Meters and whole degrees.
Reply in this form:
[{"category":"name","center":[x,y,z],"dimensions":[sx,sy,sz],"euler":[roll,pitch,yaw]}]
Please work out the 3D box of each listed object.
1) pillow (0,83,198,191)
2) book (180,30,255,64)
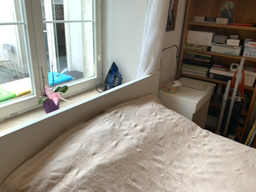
[{"category":"pillow","center":[0.000,0.300,1.470],"dimensions":[0.490,0.320,1.480],"euler":[17,26,29]},{"category":"book","center":[1.110,-0.610,2.560],"dimensions":[0.910,0.260,0.200],"euler":[18,27,32]}]
